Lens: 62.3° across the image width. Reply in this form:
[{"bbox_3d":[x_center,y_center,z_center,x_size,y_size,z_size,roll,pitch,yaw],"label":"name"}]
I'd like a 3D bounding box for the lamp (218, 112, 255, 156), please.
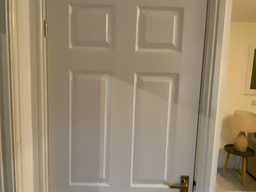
[{"bbox_3d":[1.540,0.520,2.970,0.350,0.520,0.360,2,8,-3],"label":"lamp"}]
